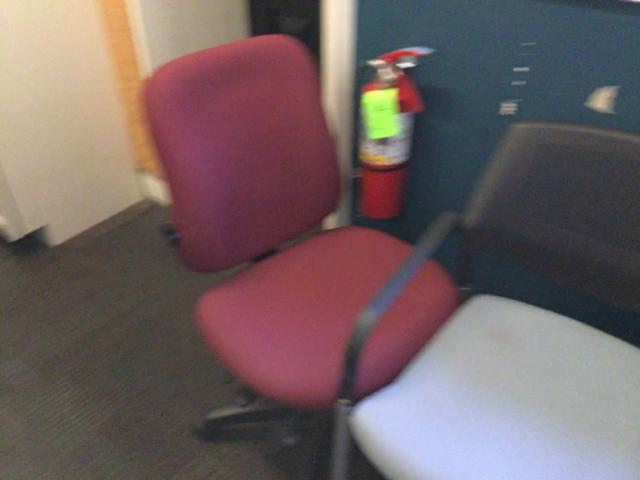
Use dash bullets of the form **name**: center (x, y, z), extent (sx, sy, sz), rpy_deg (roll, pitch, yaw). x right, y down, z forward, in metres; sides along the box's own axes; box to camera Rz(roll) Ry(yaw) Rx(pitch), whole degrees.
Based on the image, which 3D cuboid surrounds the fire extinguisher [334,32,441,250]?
- **fire extinguisher**: center (0.150, -0.230, 1.400), extent (0.190, 0.470, 0.130), rpy_deg (26, 44, 31)
